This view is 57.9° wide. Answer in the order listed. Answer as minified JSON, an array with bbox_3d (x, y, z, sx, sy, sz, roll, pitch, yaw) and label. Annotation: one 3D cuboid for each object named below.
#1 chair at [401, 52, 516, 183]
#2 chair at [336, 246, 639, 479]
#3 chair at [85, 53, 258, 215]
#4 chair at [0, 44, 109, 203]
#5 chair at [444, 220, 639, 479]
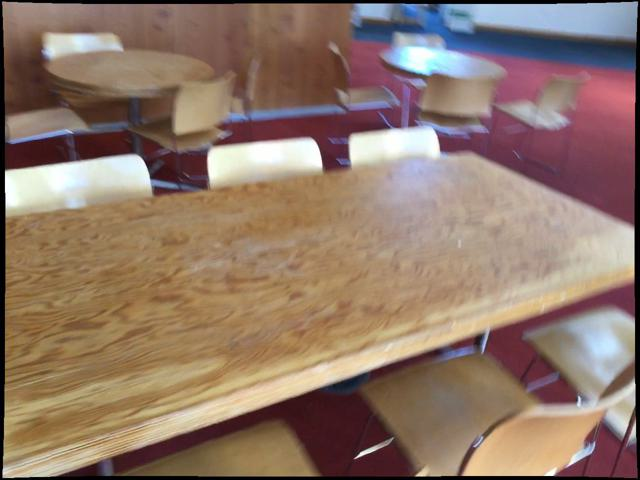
[{"bbox_3d":[0.909,-0.851,3.940,0.619,0.691,0.590,6,28,7],"label":"chair"},{"bbox_3d":[0.400,0.480,1.450,0.470,0.681,0.540,-14,32,-29],"label":"chair"},{"bbox_3d":[-0.789,-0.621,3.230,0.669,0.661,0.580,15,30,21],"label":"chair"},{"bbox_3d":[-1.558,-0.651,3.140,0.590,0.681,0.490,-14,32,-29],"label":"chair"},{"bbox_3d":[0.809,0.450,1.680,0.510,0.751,0.600,-15,33,-30],"label":"chair"}]
